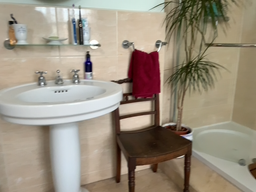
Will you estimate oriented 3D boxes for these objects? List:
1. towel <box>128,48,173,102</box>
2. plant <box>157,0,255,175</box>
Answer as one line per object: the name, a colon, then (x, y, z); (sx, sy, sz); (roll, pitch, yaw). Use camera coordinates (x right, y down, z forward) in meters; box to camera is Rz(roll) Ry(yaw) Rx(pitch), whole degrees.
towel: (0.160, -0.170, 1.590); (0.280, 0.360, 0.180); (-6, 16, -22)
plant: (0.740, -0.330, 1.760); (0.700, 1.640, 0.690); (-5, 16, -18)
